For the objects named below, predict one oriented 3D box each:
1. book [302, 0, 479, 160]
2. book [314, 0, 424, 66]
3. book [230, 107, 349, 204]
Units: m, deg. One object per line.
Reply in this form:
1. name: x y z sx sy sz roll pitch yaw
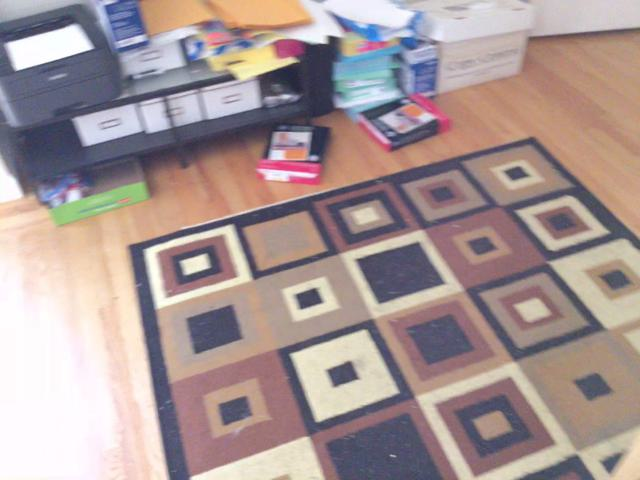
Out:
1. book: 0.240 -0.680 2.210 0.410 0.380 0.620 -17 45 -11
2. book: 0.180 -0.850 2.230 0.300 0.150 0.360 -17 45 -11
3. book: -0.120 -0.320 2.110 0.320 0.070 0.400 -17 45 -11
